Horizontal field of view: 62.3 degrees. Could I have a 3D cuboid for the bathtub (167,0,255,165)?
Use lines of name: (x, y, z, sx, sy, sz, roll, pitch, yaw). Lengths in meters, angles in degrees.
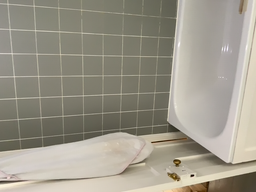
bathtub: (0.750, -0.500, 1.440, 0.690, 0.560, 1.670, -143, 53, -65)
